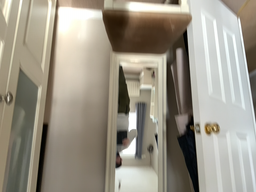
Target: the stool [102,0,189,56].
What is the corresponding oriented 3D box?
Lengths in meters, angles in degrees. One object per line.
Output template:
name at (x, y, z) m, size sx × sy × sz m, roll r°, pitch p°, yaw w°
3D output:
stool at (0.090, -0.590, 1.430) m, size 0.480 × 0.470 × 0.440 m, roll 0°, pitch 164°, yaw -2°
